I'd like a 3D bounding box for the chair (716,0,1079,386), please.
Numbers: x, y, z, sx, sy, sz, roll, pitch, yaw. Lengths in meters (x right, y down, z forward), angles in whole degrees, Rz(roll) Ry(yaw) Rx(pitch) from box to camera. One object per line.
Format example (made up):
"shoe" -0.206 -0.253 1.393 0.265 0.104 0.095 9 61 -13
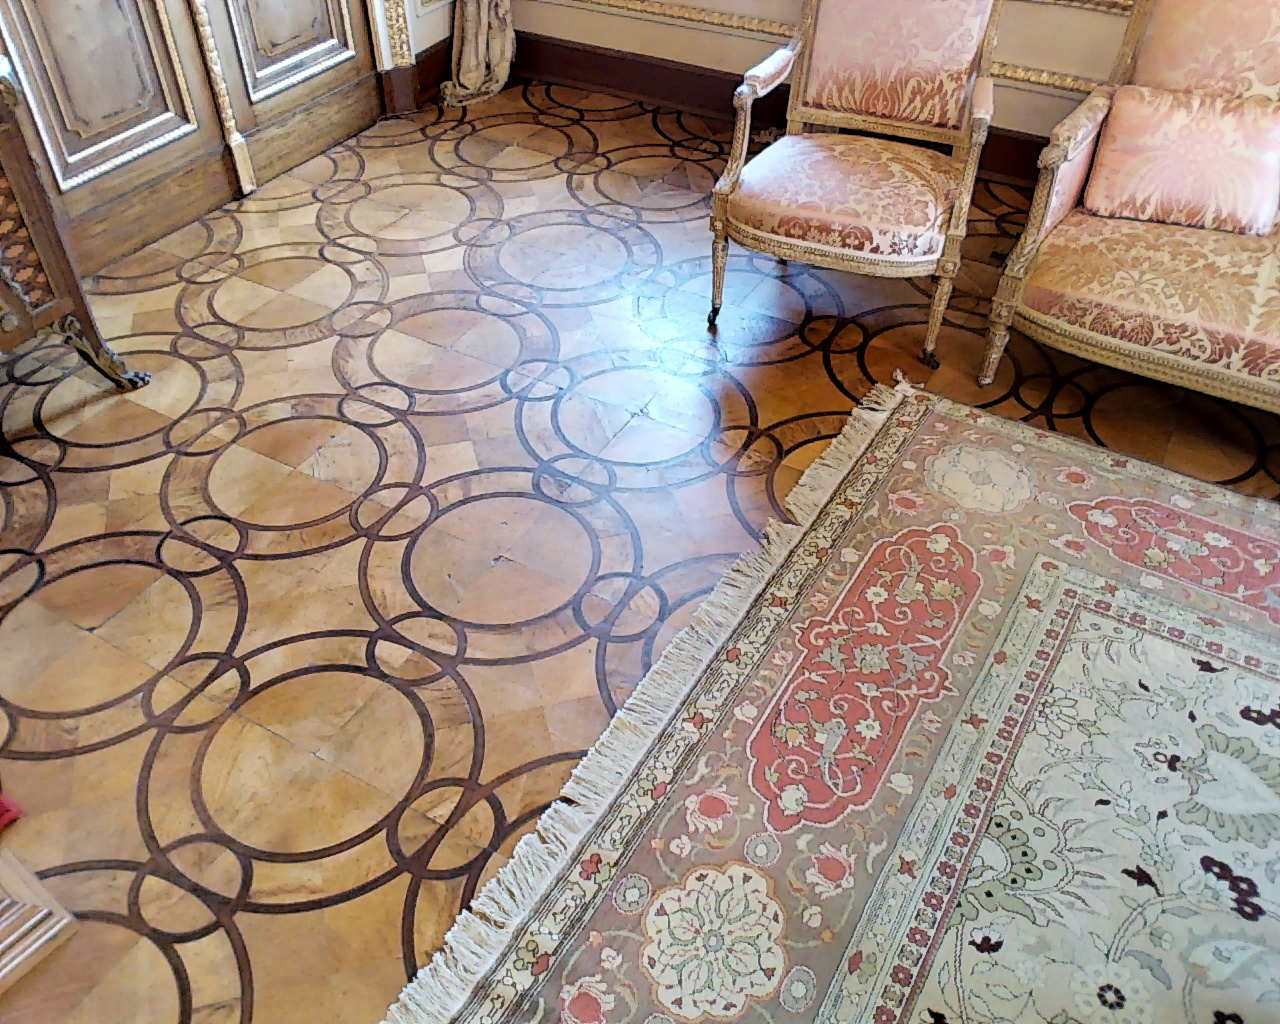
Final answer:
"chair" 0.710 -1.040 3.000 0.700 0.970 0.770 19 45 21
